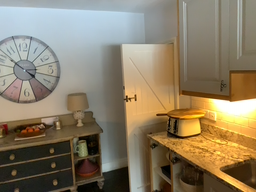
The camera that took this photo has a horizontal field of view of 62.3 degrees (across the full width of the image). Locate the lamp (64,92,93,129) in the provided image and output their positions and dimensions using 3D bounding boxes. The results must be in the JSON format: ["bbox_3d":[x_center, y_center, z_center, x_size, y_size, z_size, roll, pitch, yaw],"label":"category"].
[{"bbox_3d":[-0.710,0.190,3.030,0.320,0.450,0.280,-7,9,-22],"label":"lamp"}]
